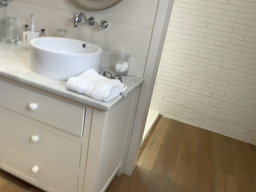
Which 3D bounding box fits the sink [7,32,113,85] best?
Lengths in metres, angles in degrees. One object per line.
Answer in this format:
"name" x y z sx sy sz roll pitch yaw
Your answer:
"sink" -0.390 -0.260 1.310 0.430 0.160 0.440 17 23 16
